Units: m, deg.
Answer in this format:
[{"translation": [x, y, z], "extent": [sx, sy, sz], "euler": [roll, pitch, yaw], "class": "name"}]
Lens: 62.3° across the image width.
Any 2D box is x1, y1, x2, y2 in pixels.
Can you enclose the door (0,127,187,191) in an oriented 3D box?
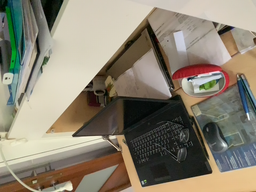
[{"translation": [-0.550, 0.690, 1.420], "extent": [0.100, 2.090, 0.960], "euler": [58, 134, 30], "class": "door"}]
